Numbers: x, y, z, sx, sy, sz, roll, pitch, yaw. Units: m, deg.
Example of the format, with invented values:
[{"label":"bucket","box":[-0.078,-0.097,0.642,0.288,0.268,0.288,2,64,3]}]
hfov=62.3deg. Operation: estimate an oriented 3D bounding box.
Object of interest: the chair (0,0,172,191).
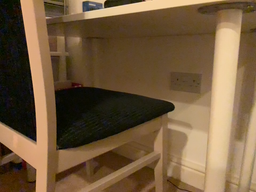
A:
[{"label":"chair","box":[-0.220,-0.050,0.660,0.490,1.040,0.510,10,15,38]}]
